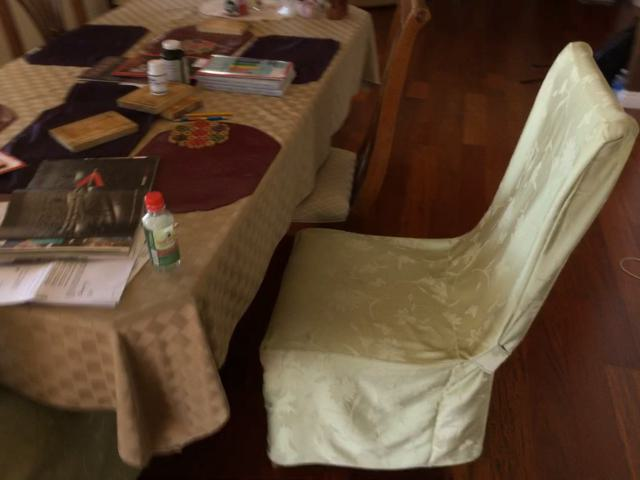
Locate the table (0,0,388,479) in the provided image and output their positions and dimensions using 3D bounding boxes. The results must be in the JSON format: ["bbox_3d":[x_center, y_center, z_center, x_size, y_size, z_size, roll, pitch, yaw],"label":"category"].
[{"bbox_3d":[-0.530,-0.220,2.000,1.190,0.890,2.190,8,40,10],"label":"table"}]
